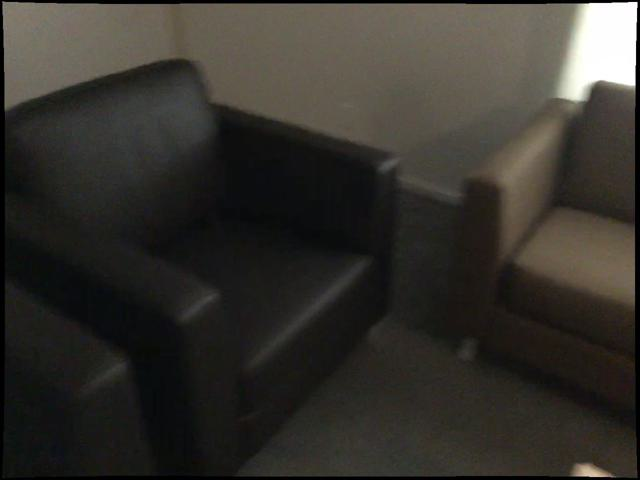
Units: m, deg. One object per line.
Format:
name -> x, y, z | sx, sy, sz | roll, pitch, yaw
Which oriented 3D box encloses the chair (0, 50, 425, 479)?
chair -> -0.339, 0.020, 1.580 | 0.829, 0.842, 0.880 | 21, 32, 29
